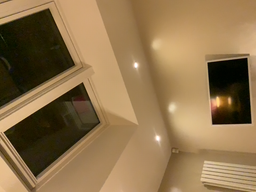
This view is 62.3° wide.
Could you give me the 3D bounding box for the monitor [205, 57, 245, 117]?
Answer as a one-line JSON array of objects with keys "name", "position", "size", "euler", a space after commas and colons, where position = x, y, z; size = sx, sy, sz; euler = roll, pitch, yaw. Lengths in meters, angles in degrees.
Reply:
[{"name": "monitor", "position": [1.070, -0.100, 2.340], "size": [0.180, 0.370, 0.620], "euler": [-15, -77, -56]}]
